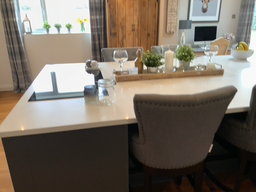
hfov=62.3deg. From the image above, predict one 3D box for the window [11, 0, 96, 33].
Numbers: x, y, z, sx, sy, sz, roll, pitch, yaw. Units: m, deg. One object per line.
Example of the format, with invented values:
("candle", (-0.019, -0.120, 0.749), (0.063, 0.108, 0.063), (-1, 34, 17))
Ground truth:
("window", (-1.470, -1.800, 4.310), (1.560, 0.960, 0.230), (-4, 21, -10))
